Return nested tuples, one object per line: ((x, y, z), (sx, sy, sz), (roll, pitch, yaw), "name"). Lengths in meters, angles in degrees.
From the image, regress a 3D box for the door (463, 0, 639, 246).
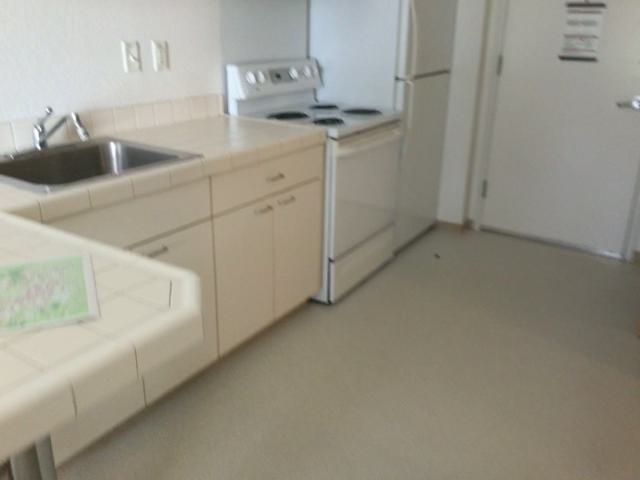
((1.450, -1.090, 3.420), (1.050, 2.160, 0.160), (9, 21, 30), "door")
